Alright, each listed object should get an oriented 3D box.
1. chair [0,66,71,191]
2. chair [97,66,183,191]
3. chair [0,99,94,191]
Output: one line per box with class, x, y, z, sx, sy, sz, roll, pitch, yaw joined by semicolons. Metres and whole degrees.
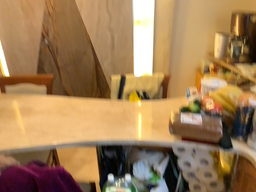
chair;-0.790;0.340;1.600;0.430;1.010;0.550;0;25;4
chair;0.090;0.350;1.550;0.430;1.000;0.610;1;25;5
chair;-0.450;0.590;1.070;0.420;1.000;0.580;0;25;2
